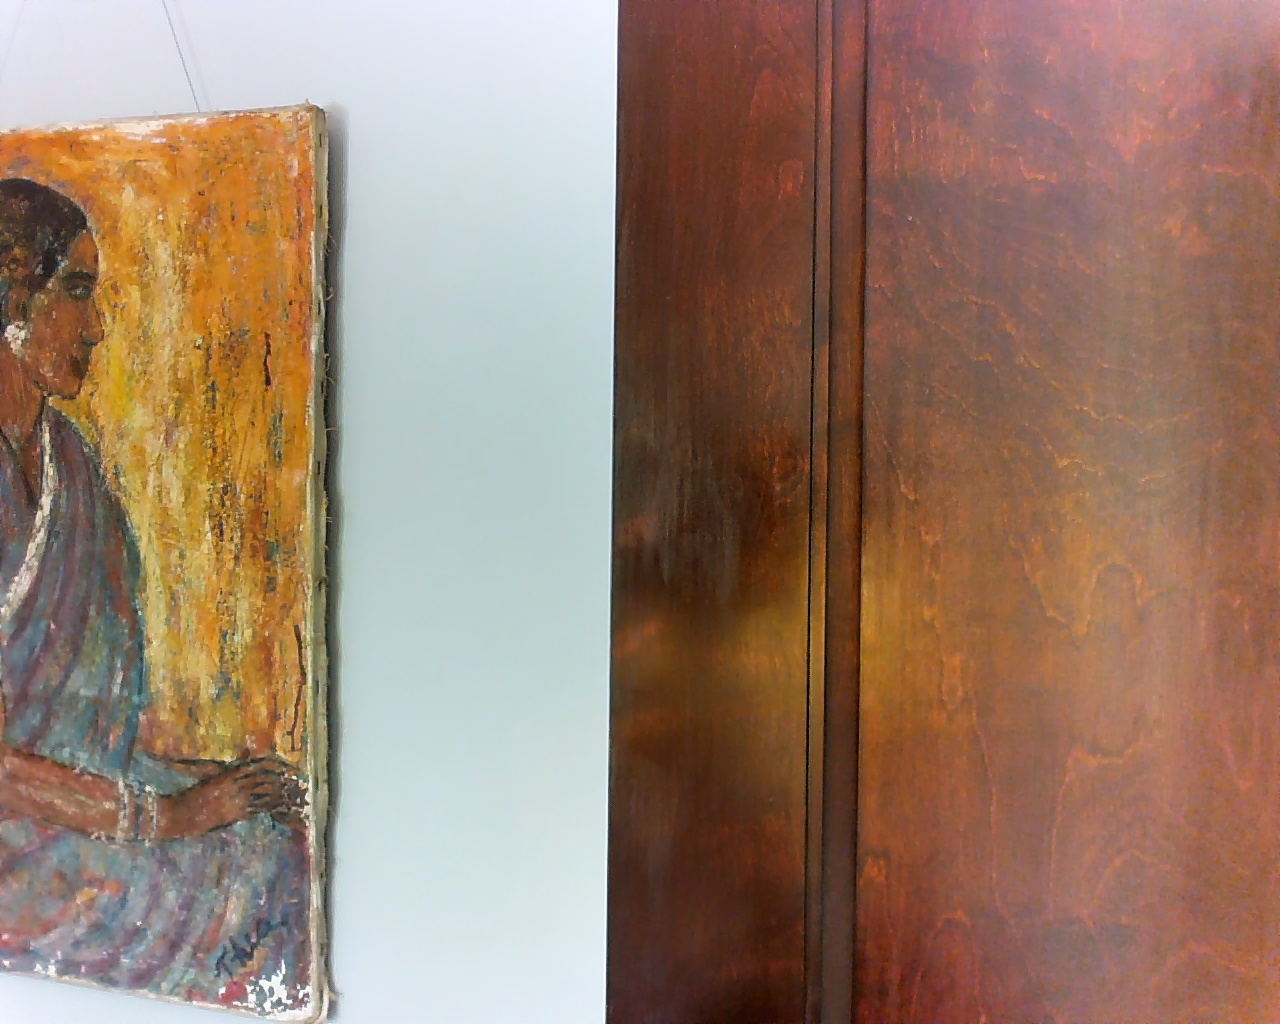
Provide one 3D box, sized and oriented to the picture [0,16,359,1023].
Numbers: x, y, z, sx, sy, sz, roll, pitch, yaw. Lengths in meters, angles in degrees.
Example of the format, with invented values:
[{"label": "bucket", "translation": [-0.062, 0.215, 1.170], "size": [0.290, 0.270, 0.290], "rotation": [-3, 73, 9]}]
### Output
[{"label": "picture", "translation": [-0.620, 0.050, 1.130], "size": [0.660, 1.010, 0.110], "rotation": [1, 1, 17]}]
